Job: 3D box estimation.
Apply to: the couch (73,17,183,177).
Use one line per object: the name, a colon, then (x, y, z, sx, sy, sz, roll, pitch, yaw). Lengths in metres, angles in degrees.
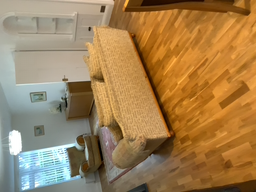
couch: (-0.190, -0.030, 3.200, 1.110, 0.870, 2.020, 119, 139, -53)
